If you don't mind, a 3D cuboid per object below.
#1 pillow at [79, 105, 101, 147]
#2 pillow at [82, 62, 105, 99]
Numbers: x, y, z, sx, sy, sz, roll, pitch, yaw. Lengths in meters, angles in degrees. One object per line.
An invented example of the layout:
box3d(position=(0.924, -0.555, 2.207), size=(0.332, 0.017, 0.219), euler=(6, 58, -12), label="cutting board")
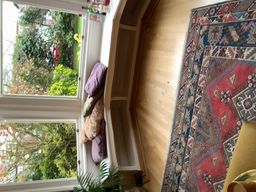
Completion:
box3d(position=(-0.500, 0.390, 2.710), size=(0.460, 0.160, 0.380), euler=(127, 140, -54), label="pillow")
box3d(position=(-0.460, -0.210, 2.770), size=(0.460, 0.160, 0.420), euler=(-152, 67, -66), label="pillow")
